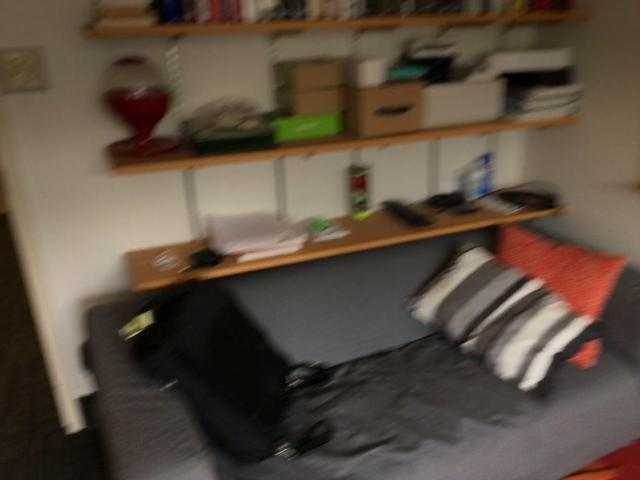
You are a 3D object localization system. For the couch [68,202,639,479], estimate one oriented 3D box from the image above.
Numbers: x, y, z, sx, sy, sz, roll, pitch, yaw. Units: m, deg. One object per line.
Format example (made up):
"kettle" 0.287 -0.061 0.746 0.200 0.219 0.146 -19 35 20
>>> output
"couch" 0.260 0.440 1.810 1.810 0.710 0.810 -10 19 -19

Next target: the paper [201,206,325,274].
"paper" -0.200 -0.010 1.980 0.350 0.110 0.270 -10 19 -19
